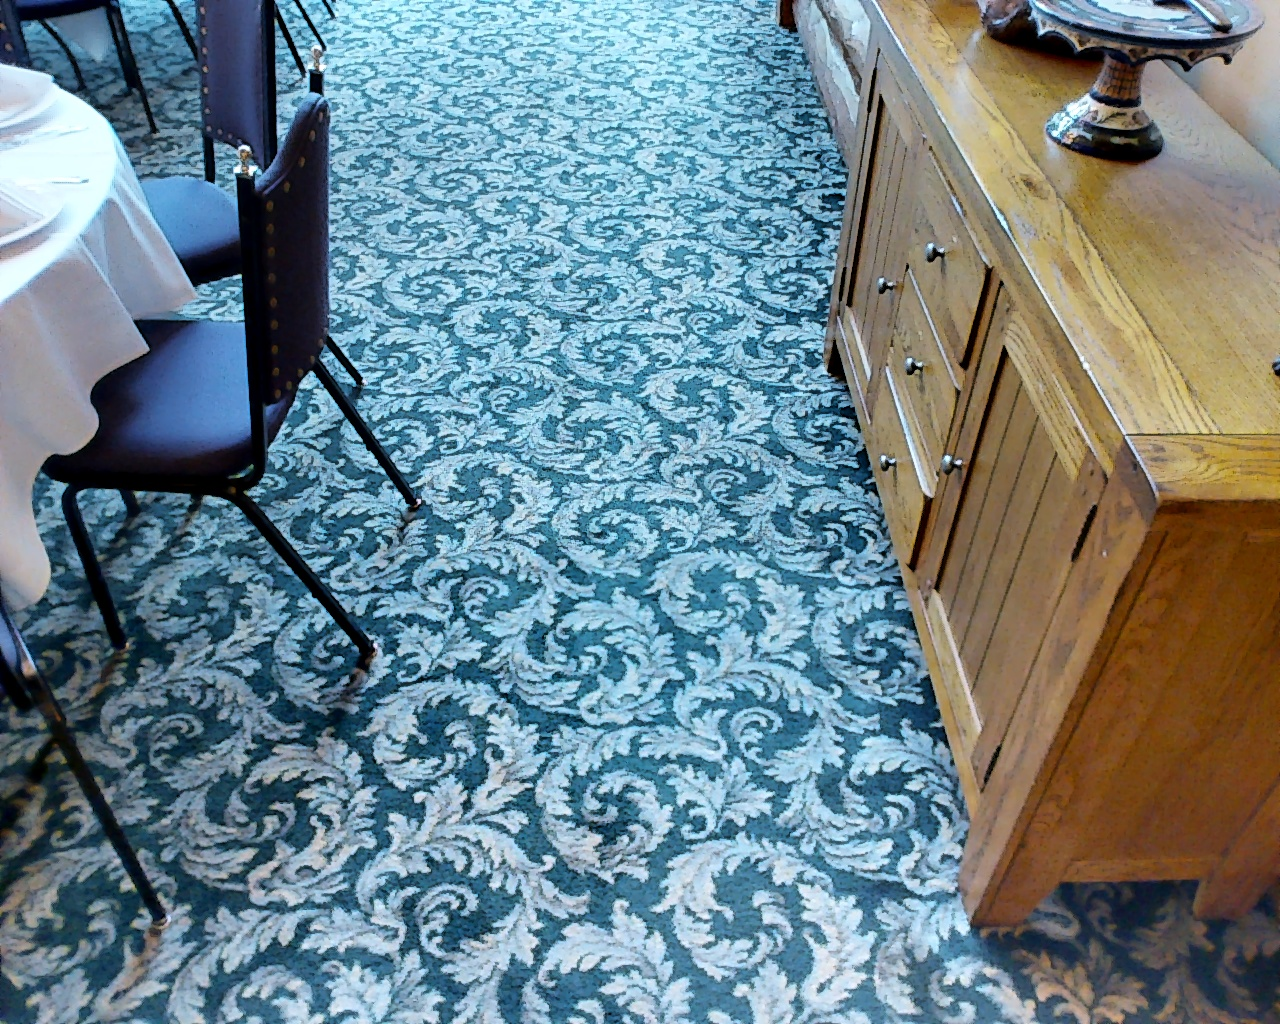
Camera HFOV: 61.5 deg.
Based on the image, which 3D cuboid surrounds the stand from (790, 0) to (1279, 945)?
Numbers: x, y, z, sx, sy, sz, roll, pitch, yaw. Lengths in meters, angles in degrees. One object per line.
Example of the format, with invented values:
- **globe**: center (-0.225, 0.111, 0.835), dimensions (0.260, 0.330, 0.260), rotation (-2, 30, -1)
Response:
- **stand**: center (0.670, -0.270, 1.920), dimensions (0.500, 0.940, 1.680), rotation (-1, 42, -1)
